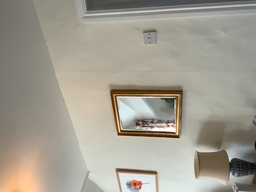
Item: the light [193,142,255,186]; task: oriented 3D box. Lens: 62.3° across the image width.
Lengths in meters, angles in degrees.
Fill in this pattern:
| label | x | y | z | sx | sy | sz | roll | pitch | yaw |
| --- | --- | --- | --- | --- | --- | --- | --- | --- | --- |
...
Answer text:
| label | x | y | z | sx | sy | sz | roll | pitch | yaw |
| --- | --- | --- | --- | --- | --- | --- | --- | --- | --- |
| light | 0.880 | 0.580 | 1.830 | 0.260 | 0.570 | 0.200 | -76 | -18 | -51 |
